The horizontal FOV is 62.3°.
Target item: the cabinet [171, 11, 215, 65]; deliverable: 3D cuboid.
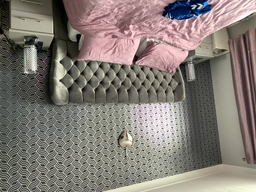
[{"bbox_3d":[0.980,-0.860,3.260,0.370,0.640,0.460,0,172,-29],"label":"cabinet"}]
